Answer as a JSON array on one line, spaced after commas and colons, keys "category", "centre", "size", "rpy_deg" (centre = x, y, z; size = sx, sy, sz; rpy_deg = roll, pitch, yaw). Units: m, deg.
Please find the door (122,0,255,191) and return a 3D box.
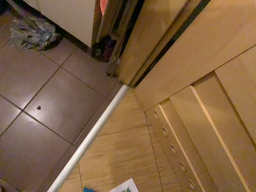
[{"category": "door", "centre": [0.390, -0.010, 0.160], "size": [0.090, 1.920, 0.850], "rpy_deg": [-24, 83, -16]}]
